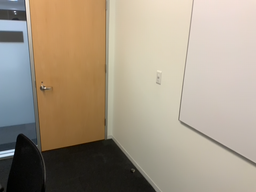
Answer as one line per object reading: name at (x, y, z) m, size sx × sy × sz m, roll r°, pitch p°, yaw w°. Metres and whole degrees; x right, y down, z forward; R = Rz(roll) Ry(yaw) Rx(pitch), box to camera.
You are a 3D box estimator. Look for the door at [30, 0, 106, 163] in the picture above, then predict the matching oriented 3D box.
door at (-0.730, -0.220, 2.830) m, size 0.890 × 2.290 × 0.060 m, roll -6°, pitch 19°, yaw -27°
